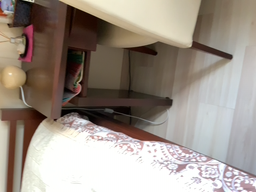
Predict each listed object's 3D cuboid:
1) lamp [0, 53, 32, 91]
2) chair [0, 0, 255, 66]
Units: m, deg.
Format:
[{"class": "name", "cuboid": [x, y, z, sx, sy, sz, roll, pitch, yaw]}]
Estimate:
[{"class": "lamp", "cuboid": [-0.640, -0.120, 0.990, 0.220, 0.290, 0.160, 12, 99, 49]}, {"class": "chair", "cuboid": [0.030, -0.430, 0.820, 0.530, 1.000, 0.460, 20, 104, 48]}]
